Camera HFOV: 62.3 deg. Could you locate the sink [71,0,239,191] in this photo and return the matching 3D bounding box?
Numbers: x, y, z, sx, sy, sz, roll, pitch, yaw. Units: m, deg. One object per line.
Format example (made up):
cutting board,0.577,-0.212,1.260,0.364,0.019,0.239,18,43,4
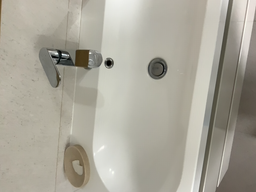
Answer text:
sink,0.050,-0.080,0.590,0.400,0.100,0.810,11,98,32
